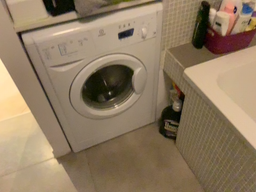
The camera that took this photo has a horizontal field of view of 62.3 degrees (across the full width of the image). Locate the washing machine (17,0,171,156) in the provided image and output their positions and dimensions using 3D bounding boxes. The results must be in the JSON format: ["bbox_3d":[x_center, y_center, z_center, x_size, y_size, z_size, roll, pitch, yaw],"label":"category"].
[{"bbox_3d":[-0.160,-0.140,1.250,0.590,0.840,0.440,-18,49,-13],"label":"washing machine"}]
